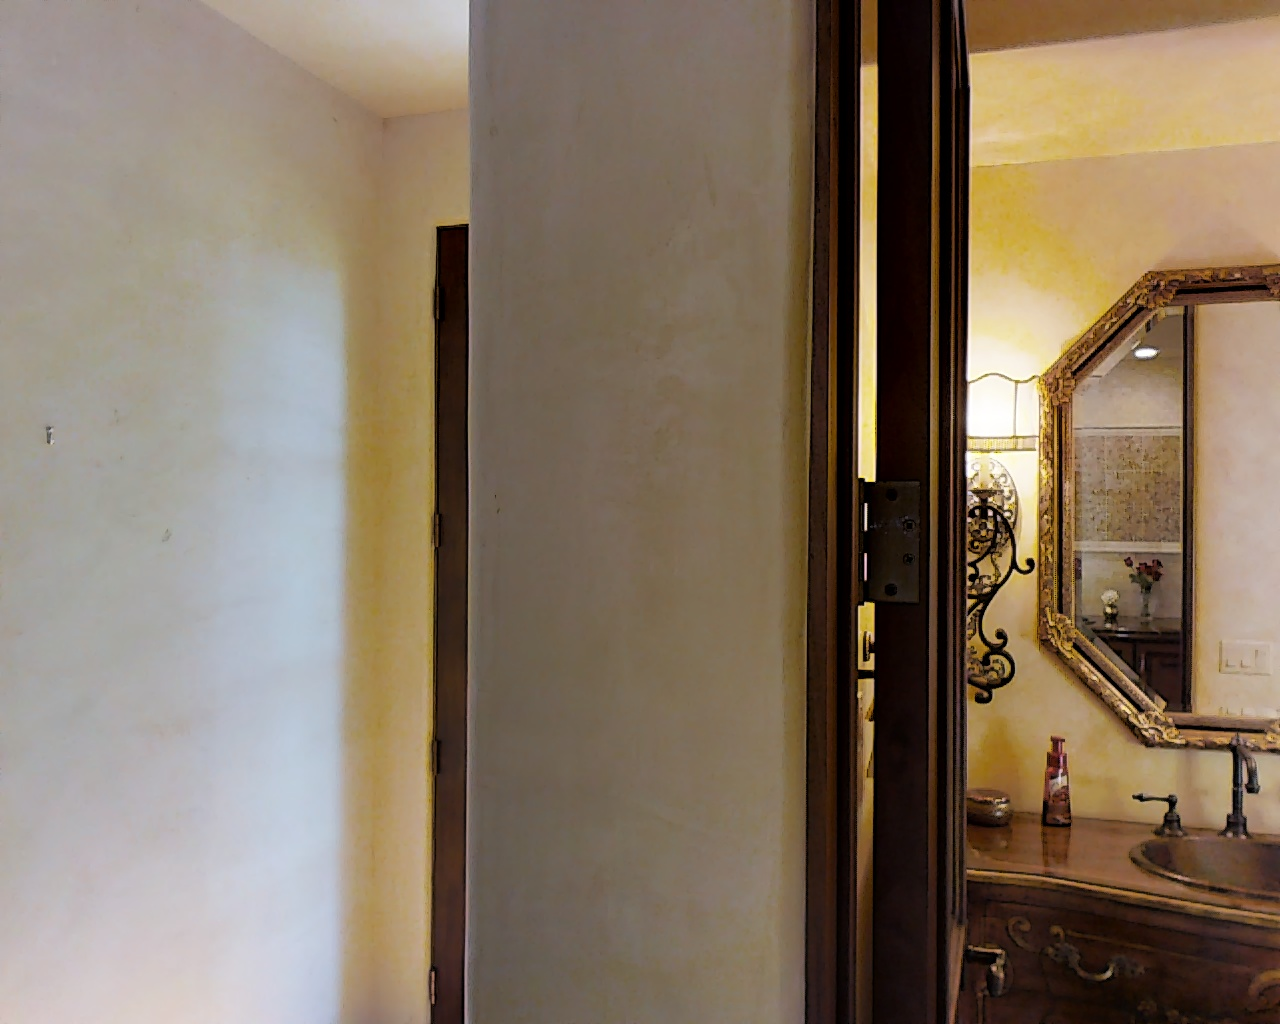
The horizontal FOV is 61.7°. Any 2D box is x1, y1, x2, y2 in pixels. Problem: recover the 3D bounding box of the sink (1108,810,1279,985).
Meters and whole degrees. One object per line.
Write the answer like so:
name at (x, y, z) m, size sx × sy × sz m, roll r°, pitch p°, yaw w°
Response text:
sink at (1.180, 0.730, 2.040) m, size 0.500 × 0.160 × 0.450 m, roll 0°, pitch 0°, yaw 20°
